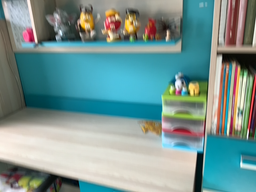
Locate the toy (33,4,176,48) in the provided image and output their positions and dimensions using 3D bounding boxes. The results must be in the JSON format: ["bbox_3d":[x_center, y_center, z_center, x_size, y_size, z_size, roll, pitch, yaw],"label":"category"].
[{"bbox_3d":[-0.120,-0.340,1.060,0.690,0.170,0.150,3,21,16],"label":"toy"}]

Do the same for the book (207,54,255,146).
[{"bbox_3d":[0.470,-0.010,0.800,0.300,0.240,0.350,4,21,18],"label":"book"}]
